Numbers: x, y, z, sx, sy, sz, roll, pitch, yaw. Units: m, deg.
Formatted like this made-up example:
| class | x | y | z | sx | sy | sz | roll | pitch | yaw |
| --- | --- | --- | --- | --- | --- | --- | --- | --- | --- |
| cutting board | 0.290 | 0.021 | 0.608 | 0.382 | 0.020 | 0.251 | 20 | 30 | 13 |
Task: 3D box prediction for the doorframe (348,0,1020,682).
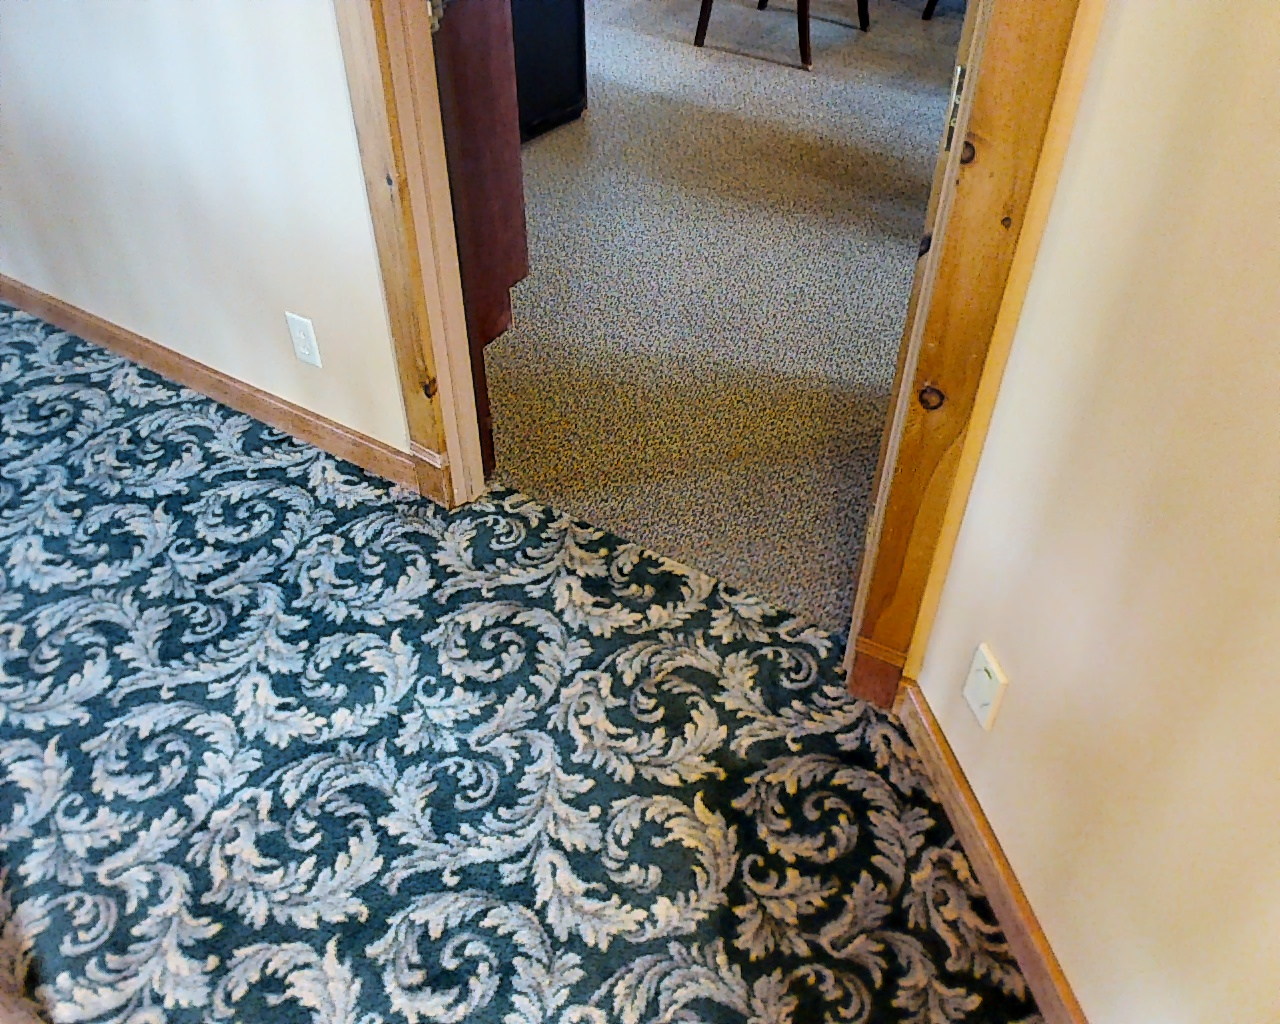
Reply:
| class | x | y | z | sx | sy | sz | roll | pitch | yaw |
| --- | --- | --- | --- | --- | --- | --- | --- | --- | --- |
| doorframe | 0.010 | -0.680 | 1.540 | 0.970 | 2.080 | 0.190 | 23 | 47 | 22 |
